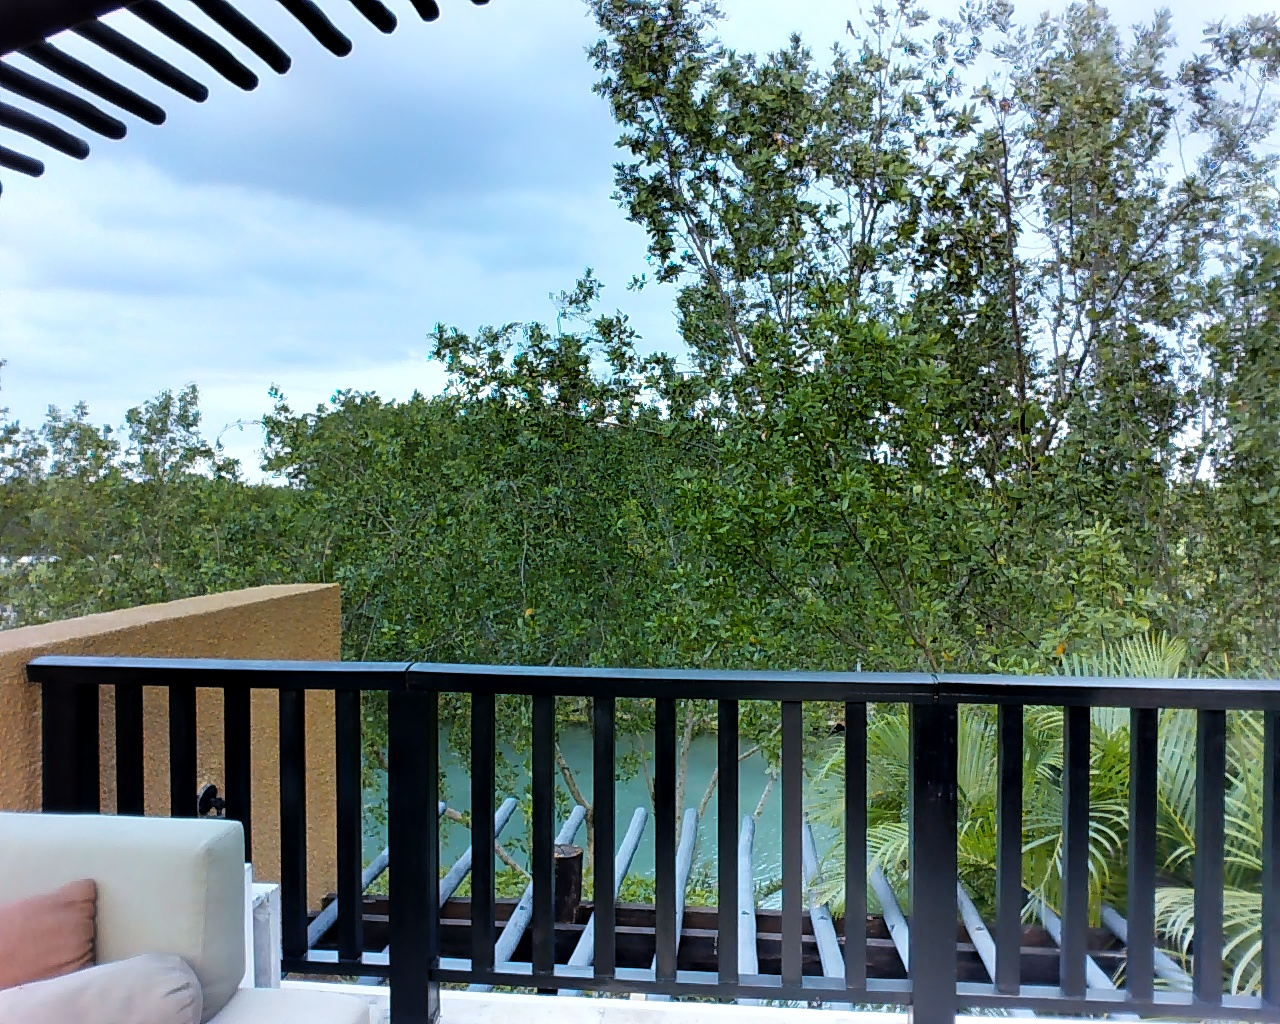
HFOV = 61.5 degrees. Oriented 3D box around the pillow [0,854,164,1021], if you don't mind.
[{"bbox_3d":[-1.080,0.700,1.690,0.570,0.150,0.210,-1,2,-39],"label":"pillow"}]
